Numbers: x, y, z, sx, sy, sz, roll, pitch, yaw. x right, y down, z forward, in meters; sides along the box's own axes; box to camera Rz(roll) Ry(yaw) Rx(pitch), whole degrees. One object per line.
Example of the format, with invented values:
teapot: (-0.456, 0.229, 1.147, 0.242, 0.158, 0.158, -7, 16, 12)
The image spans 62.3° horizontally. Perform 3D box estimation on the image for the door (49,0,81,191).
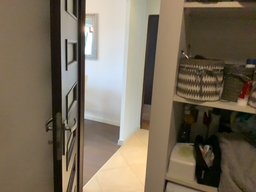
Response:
door: (-0.390, 0.180, 1.420, 0.110, 1.870, 0.800, 1, 14, -12)
